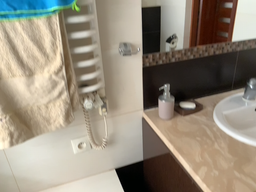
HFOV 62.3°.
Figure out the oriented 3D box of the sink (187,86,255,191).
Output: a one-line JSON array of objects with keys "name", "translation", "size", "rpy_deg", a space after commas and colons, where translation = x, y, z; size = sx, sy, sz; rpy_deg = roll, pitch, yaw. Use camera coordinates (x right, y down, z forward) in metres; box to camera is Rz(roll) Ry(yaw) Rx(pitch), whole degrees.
[{"name": "sink", "translation": [0.690, 0.140, 1.010], "size": [0.620, 0.170, 0.480], "rpy_deg": [-11, 28, -17]}]
